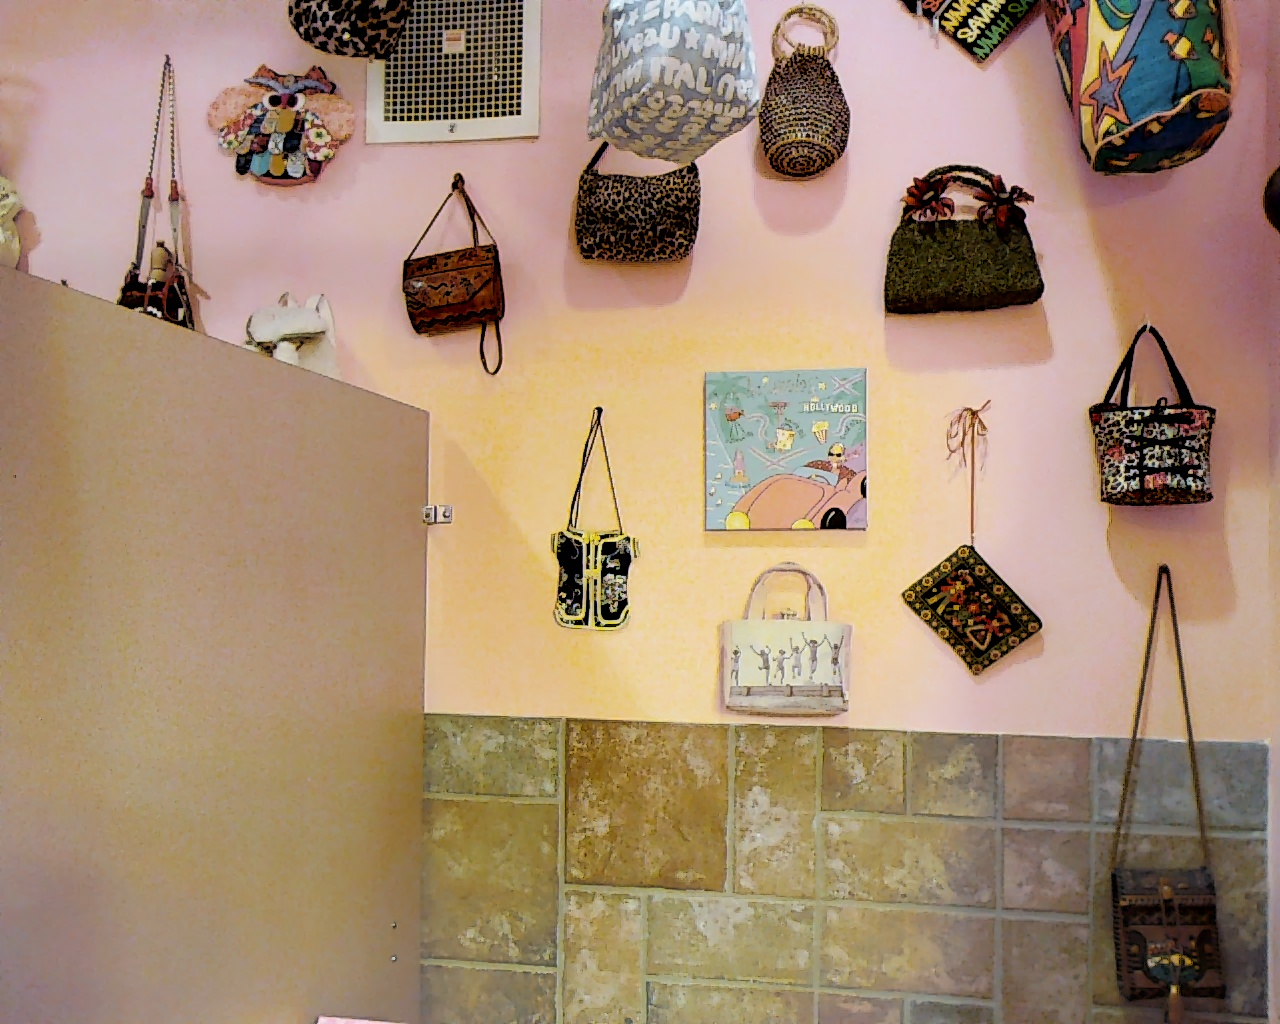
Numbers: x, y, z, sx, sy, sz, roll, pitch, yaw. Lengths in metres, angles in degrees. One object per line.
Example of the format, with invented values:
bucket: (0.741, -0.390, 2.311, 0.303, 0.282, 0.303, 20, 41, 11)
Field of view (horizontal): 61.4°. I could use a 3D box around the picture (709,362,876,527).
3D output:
picture: (0.270, -0.120, 1.920, 0.290, 0.290, 0.030, 1, -2, 8)
